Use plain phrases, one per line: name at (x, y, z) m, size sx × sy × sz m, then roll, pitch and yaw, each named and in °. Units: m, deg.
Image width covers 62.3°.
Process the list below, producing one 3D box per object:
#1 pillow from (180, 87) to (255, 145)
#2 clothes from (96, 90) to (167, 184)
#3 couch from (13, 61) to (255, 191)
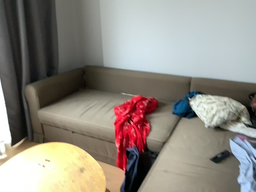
pillow at (0.800, 0.140, 1.890) m, size 0.540 × 0.240 × 0.470 m, roll 10°, pitch 24°, yaw 23°
clothes at (0.080, 0.330, 2.090) m, size 0.400 × 0.500 × 0.820 m, roll 8°, pitch 23°, yaw 20°
couch at (0.160, 0.210, 2.190) m, size 2.560 × 0.720 × 0.940 m, roll 10°, pitch 24°, yaw 24°
